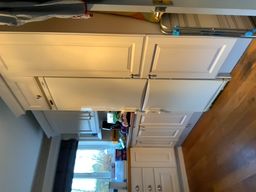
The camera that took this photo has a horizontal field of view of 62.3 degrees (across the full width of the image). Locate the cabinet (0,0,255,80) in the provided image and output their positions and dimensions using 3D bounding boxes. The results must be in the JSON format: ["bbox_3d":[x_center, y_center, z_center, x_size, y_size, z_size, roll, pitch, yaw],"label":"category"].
[{"bbox_3d":[-0.170,-0.600,1.900,0.540,2.270,0.690,96,173,-55],"label":"cabinet"}]

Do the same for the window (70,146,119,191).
[{"bbox_3d":[-0.610,1.520,3.980,0.050,0.870,1.230,96,173,-52],"label":"window"}]
